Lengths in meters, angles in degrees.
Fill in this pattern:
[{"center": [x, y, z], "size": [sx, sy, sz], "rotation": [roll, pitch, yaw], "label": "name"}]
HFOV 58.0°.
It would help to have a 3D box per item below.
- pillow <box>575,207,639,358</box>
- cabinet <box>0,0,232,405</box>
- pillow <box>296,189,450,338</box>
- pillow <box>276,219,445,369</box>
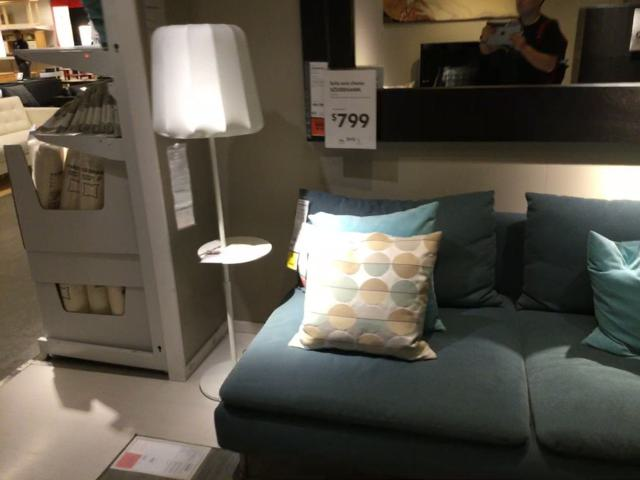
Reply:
[{"center": [1.070, 0.130, 1.780], "size": [0.440, 0.390, 0.280], "rotation": [3, 17, 12], "label": "pillow"}, {"center": [-0.910, -0.330, 2.380], "size": [0.810, 1.800, 0.580], "rotation": [4, 17, 17], "label": "cabinet"}, {"center": [0.190, 0.070, 2.060], "size": [0.490, 0.440, 0.230], "rotation": [4, 17, 17], "label": "pillow"}, {"center": [0.140, 0.160, 1.910], "size": [0.490, 0.370, 0.280], "rotation": [4, 17, 17], "label": "pillow"}]
